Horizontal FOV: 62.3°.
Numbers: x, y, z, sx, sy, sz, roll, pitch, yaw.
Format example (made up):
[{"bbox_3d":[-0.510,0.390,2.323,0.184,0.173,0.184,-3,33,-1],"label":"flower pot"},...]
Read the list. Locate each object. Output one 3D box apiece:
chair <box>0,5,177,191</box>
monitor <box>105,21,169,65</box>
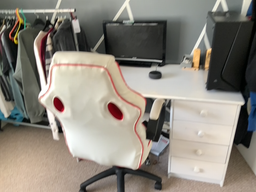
[{"bbox_3d":[-0.100,0.150,1.300,0.640,1.230,0.720,6,29,15],"label":"chair"},{"bbox_3d":[0.070,-0.440,1.770,0.520,0.350,0.030,5,29,14],"label":"monitor"}]
